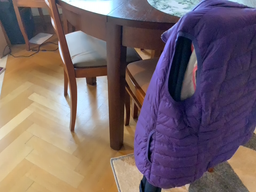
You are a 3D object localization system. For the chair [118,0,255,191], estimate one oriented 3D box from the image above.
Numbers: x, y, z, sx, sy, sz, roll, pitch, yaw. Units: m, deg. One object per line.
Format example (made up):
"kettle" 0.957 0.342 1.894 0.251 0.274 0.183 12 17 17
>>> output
"chair" 0.250 -0.030 0.950 0.440 0.870 0.480 -12 45 -17
